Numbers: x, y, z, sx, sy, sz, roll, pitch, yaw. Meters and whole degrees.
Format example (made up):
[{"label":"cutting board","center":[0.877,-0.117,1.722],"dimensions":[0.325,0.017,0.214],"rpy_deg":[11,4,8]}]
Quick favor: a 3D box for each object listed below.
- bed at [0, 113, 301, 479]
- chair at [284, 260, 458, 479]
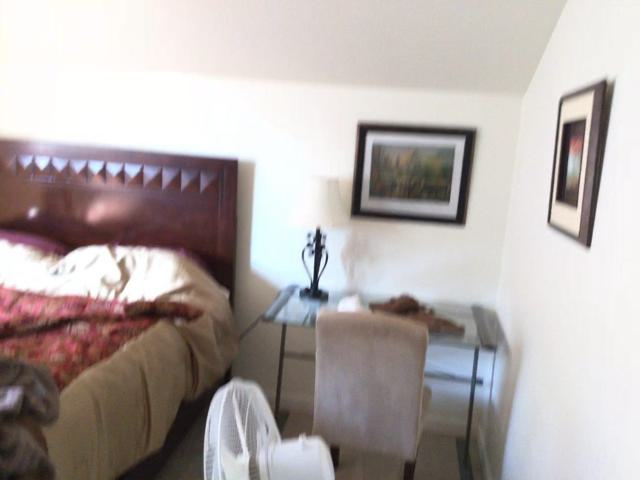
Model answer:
[{"label":"bed","center":[-1.300,0.300,2.240],"dimensions":[1.850,1.400,2.260],"rpy_deg":[9,13,9]},{"label":"chair","center":[0.200,0.640,2.390],"dimensions":[0.530,0.890,0.690],"rpy_deg":[8,16,7]}]
